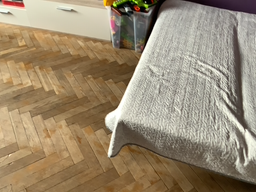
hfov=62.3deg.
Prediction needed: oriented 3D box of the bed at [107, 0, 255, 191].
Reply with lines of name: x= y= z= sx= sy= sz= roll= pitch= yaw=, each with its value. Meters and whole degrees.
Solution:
bed: x=1.090 y=-0.040 z=1.460 sx=2.080 sy=0.410 sz=1.460 roll=12 pitch=48 yaw=9

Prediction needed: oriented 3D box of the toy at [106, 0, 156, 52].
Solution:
toy: x=0.050 y=-0.820 z=2.080 sx=0.360 sy=0.500 sz=0.510 roll=12 pitch=48 yaw=8
